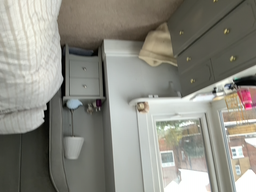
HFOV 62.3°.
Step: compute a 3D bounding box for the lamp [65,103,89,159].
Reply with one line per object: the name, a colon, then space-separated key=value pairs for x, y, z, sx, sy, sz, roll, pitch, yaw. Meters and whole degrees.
lamp: x=-0.520 y=0.350 z=2.130 sx=0.200 sy=0.520 sz=0.180 roll=-2 pitch=166 yaw=-17
